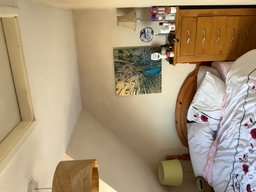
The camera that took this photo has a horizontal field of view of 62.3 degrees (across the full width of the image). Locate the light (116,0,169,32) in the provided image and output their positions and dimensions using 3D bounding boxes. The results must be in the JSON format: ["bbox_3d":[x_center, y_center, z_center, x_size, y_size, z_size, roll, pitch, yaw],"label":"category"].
[{"bbox_3d":[0.150,-0.920,2.410,0.210,0.570,0.340,-98,7,-67],"label":"light"}]

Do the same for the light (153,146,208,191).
[{"bbox_3d":[0.730,1.050,3.080,0.510,0.630,0.380,-99,8,-70],"label":"light"}]

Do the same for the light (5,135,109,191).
[{"bbox_3d":[-0.370,0.610,1.180,0.380,0.380,0.590,20,118,45],"label":"light"}]

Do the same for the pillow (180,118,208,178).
[{"bbox_3d":[0.840,0.660,2.760,0.490,0.130,0.570,-98,8,-68],"label":"pillow"}]
